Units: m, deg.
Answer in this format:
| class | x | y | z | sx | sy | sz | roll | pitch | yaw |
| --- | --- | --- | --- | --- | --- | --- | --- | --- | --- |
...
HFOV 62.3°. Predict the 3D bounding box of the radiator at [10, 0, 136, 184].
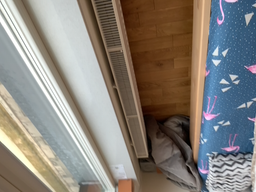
| class | x | y | z | sx | sy | sz | roll | pitch | yaw |
| --- | --- | --- | --- | --- | --- | --- | --- | --- | --- |
| radiator | -0.170 | -0.080 | 1.320 | 0.220 | 0.570 | 1.590 | -6 | 134 | 7 |
